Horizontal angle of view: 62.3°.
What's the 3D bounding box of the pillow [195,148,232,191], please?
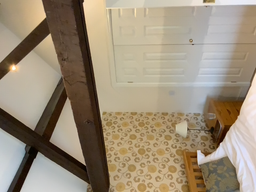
[{"bbox_3d":[0.950,0.860,2.340,0.100,0.400,0.430,-37,30,26],"label":"pillow"}]
